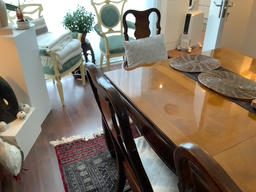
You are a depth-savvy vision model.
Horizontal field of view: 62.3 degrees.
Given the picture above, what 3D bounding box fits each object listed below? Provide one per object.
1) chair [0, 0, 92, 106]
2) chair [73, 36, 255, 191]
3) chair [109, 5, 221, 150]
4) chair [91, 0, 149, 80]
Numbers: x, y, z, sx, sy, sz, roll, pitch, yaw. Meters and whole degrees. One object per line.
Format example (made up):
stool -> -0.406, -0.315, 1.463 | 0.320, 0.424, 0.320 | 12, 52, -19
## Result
chair -> -0.870, -0.520, 2.450 | 0.600, 0.990, 0.640 | 10, 33, 15
chair -> 0.170, 0.300, 1.100 | 0.640, 1.010, 0.530 | -15, 35, -23
chair -> 0.240, -0.200, 1.890 | 0.590, 1.020, 0.660 | -12, 33, -20
chair -> -0.120, -0.840, 2.960 | 0.550, 1.010, 0.540 | -16, 35, -25
